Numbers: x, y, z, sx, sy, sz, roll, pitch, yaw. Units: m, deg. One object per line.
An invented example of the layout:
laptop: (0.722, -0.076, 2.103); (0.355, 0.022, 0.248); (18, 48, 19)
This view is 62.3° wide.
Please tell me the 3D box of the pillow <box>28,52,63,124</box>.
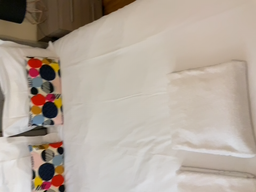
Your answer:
pillow: (-0.680, -0.060, 1.740); (0.170, 0.240, 0.550); (-3, 88, 62)

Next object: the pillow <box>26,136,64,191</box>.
pillow: (-0.660, 0.650, 1.690); (0.130, 0.270, 0.620); (-4, 87, 63)

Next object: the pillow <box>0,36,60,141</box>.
pillow: (-0.830, -0.060, 1.720); (0.110, 0.510, 0.790); (173, 96, -66)

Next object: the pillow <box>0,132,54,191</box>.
pillow: (-0.850, 0.680, 1.690); (0.150, 0.480, 0.730); (169, 99, -67)

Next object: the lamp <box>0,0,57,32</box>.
lamp: (-0.880, -0.770, 1.820); (0.330, 0.400, 0.270); (-3, 89, 45)
